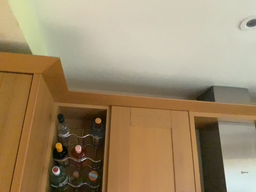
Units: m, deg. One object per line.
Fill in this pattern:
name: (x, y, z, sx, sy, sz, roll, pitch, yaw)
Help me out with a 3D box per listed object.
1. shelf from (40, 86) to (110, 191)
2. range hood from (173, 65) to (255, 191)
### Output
shelf: (-0.270, 0.410, 1.130, 0.280, 0.830, 0.360, 4, -22, -9)
range hood: (0.670, 0.270, 1.300, 0.600, 0.720, 0.470, 4, -21, -8)
